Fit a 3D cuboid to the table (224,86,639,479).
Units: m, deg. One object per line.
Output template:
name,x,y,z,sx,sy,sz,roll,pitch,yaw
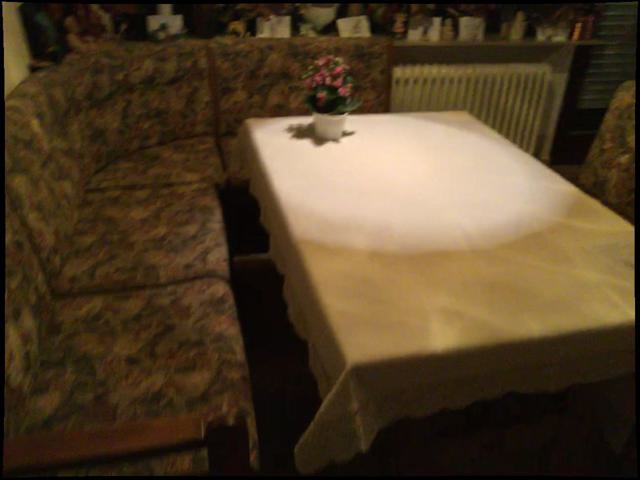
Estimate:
table,0.300,0.110,1.800,1.089,0.771,1.460,-3,31,-11
